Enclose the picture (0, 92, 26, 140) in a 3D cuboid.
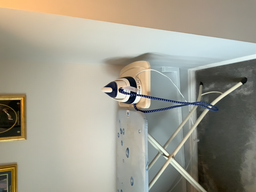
[{"bbox_3d":[-0.860,0.130,1.370,0.020,0.360,0.310,180,89,-65],"label":"picture"}]
